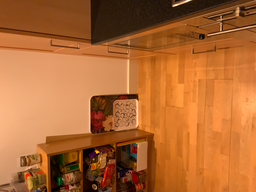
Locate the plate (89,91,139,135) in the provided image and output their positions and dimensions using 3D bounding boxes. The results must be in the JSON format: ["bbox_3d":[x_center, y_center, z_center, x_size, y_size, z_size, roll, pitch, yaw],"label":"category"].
[{"bbox_3d":[-0.130,0.160,2.210,0.080,0.570,0.400,6,97,52],"label":"plate"}]
